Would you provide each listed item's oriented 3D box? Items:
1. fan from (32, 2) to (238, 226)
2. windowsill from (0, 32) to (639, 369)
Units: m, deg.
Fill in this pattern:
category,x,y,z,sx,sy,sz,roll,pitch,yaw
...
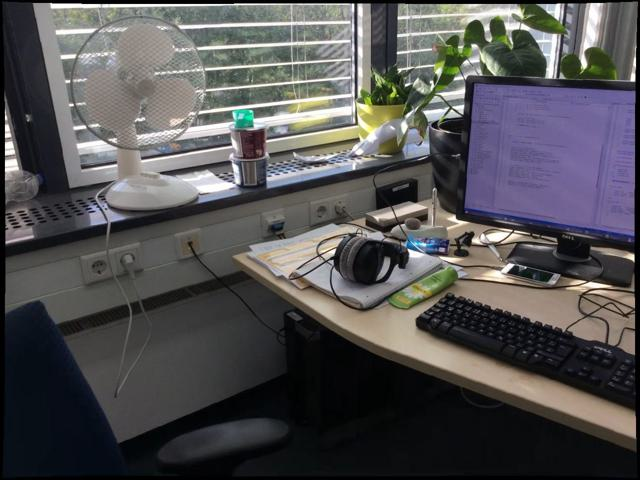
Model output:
category,x,y,z,sx,sy,sz,roll,pitch,yaw
fan,-0.470,-0.350,1.520,0.380,0.490,0.270,-17,28,-31
windowsill,0.170,-0.340,2.040,3.078,0.520,0.460,-17,28,-31
